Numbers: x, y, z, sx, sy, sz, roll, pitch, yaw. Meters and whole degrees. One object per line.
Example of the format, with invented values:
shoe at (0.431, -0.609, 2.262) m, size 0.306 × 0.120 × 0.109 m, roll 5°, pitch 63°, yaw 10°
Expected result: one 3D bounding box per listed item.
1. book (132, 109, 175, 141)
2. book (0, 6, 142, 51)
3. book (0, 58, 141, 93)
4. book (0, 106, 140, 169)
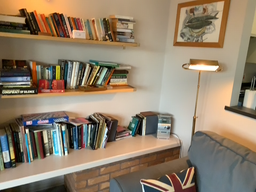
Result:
book at (0.290, 0.320, 2.470) m, size 0.360 × 0.230 × 0.330 m, roll -3°, pitch 15°, yaw -27°
book at (-0.490, -0.560, 1.850) m, size 1.320 × 0.250 × 0.190 m, roll -4°, pitch 15°, yaw -29°
book at (-0.500, -0.200, 1.970) m, size 1.330 × 0.250 × 0.190 m, roll -4°, pitch 15°, yaw -29°
book at (-0.540, 0.340, 2.010) m, size 1.330 × 0.310 × 0.300 m, roll -4°, pitch 15°, yaw -30°
